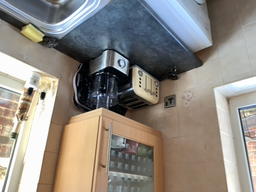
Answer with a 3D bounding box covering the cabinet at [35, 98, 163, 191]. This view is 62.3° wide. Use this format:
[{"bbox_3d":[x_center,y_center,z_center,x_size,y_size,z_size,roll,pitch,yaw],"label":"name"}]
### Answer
[{"bbox_3d":[-0.120,0.580,1.070,0.330,0.950,0.600,-17,150,36],"label":"cabinet"}]
